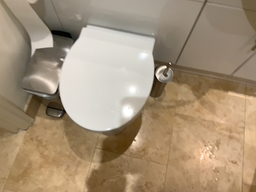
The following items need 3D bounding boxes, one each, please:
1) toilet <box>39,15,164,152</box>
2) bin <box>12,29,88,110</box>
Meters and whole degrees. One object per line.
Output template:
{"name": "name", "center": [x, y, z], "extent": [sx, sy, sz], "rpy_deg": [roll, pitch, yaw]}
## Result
{"name": "toilet", "center": [-0.090, -0.020, 1.050], "extent": [0.380, 0.460, 0.460], "rpy_deg": [13, 70, 3]}
{"name": "bin", "center": [-0.380, -0.120, 1.130], "extent": [0.210, 0.340, 0.270], "rpy_deg": [12, 70, 3]}
